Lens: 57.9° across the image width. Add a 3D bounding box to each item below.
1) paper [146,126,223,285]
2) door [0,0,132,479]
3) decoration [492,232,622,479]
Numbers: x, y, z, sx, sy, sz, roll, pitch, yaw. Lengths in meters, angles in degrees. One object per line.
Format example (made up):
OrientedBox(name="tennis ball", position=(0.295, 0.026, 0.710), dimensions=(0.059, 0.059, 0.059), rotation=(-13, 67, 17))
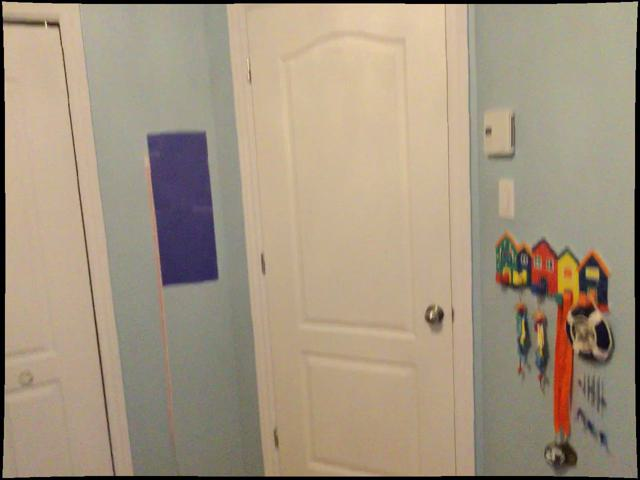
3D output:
OrientedBox(name="paper", position=(-0.539, -0.140, 2.310), dimensions=(0.230, 0.601, 0.100), rotation=(-7, 11, -17))
OrientedBox(name="door", position=(-1.339, 0.190, 2.040), dimensions=(1.069, 2.132, 0.160), rotation=(-7, 11, -18))
OrientedBox(name="decoration", position=(0.649, 0.320, 1.640), dimensions=(0.040, 0.631, 0.460), rotation=(-7, 11, -18))
